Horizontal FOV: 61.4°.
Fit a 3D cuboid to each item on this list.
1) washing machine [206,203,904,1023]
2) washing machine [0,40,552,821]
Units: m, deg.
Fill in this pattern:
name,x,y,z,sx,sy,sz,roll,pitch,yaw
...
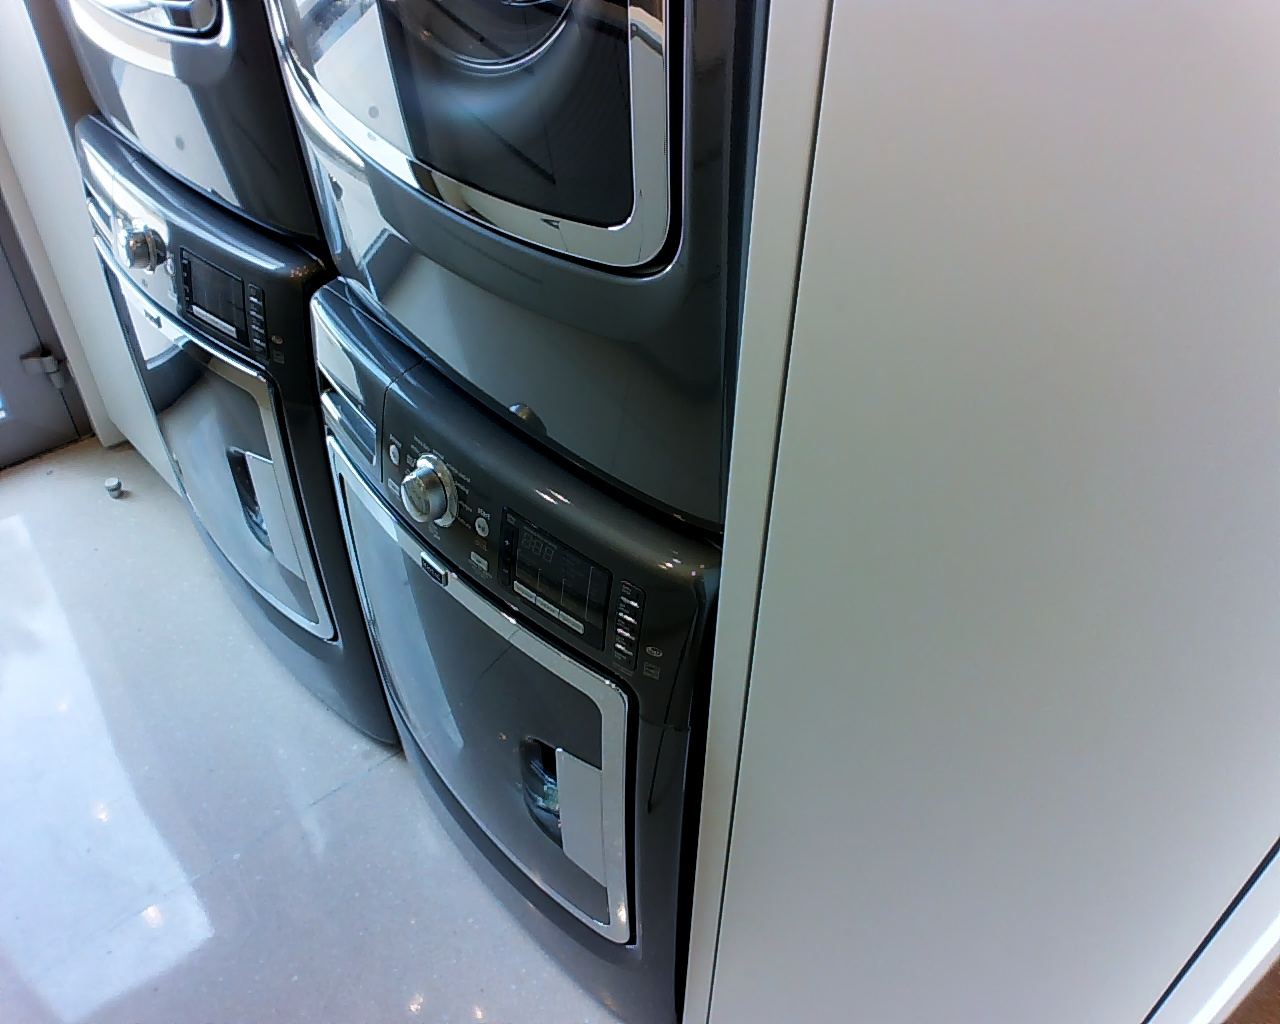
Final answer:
name,x,y,z,sx,sy,sz,roll,pitch,yaw
washing machine,-0.130,0.210,1.500,0.370,0.990,0.730,-33,51,-32
washing machine,-0.570,-0.130,1.840,0.390,1.030,0.780,-31,50,-31
